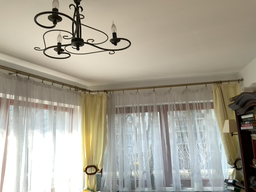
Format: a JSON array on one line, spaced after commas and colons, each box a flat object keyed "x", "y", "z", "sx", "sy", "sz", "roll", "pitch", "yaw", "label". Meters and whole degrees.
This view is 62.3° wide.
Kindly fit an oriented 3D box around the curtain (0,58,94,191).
[{"x": -1.190, "y": 0.460, "z": 2.340, "sx": 0.200, "sy": 1.560, "sz": 2.570, "roll": -7, "pitch": -12, "yaw": 25, "label": "curtain"}]
